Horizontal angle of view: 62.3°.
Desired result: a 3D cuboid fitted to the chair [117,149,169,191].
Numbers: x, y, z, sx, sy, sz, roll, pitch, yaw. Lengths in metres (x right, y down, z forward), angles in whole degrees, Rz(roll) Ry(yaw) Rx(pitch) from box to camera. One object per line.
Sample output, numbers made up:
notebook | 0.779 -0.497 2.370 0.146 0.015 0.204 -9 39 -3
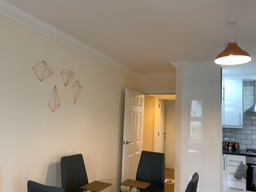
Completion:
chair | 0.200 1.250 2.690 0.480 1.020 0.580 0 -6 23
